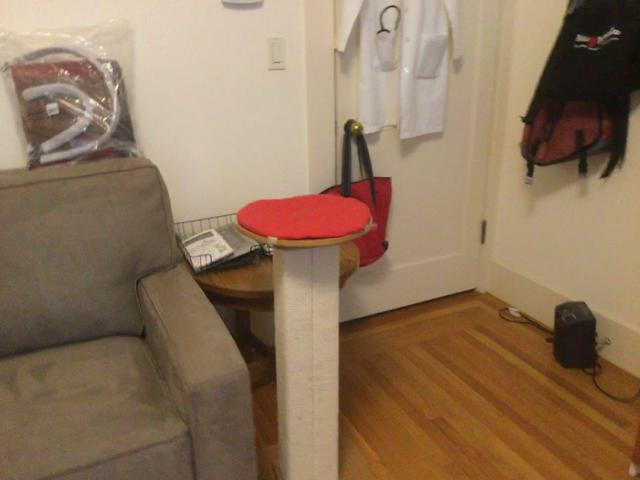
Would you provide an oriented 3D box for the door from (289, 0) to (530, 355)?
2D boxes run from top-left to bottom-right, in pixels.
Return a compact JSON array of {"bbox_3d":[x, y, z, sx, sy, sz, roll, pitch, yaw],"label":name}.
[{"bbox_3d":[0.370,-0.630,2.240,0.960,2.080,0.170,-11,21,-24],"label":"door"}]

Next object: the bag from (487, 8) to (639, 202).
[{"bbox_3d":[0.880,-0.510,2.150,0.220,0.630,0.440,-11,21,-24],"label":"bag"}]

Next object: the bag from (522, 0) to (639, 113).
[{"bbox_3d":[0.930,-0.700,1.950,0.240,0.480,0.370,-11,21,-24],"label":"bag"}]
